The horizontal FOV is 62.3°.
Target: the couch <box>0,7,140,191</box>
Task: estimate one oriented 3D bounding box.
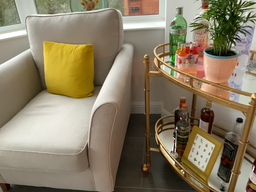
[{"bbox_3d":[-0.420,0.000,1.390,0.890,0.930,0.950,2,30,9],"label":"couch"}]

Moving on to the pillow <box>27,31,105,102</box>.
[{"bbox_3d":[-0.400,-0.190,1.450,0.420,0.350,0.200,13,48,1],"label":"pillow"}]
